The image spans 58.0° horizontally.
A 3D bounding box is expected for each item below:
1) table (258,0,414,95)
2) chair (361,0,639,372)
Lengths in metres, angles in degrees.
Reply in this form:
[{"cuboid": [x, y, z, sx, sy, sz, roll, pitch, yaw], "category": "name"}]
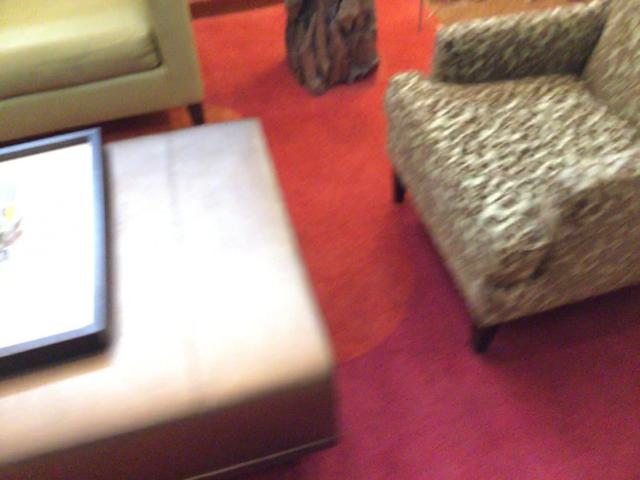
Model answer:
[{"cuboid": [0.050, -0.990, 2.330, 0.500, 0.620, 0.460, -6, 44, -15], "category": "table"}, {"cuboid": [0.660, -0.360, 1.480, 0.860, 0.990, 0.790, -11, 46, -10], "category": "chair"}]
